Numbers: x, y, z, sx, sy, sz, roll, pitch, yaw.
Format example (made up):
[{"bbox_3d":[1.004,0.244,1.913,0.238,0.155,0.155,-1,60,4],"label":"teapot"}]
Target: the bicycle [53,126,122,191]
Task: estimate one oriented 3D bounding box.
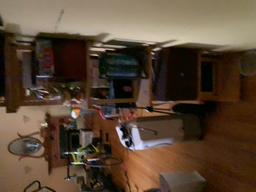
[{"bbox_3d":[-0.950,1.180,4.460,1.760,1.030,0.710,-174,84,-65],"label":"bicycle"}]
